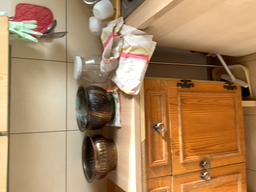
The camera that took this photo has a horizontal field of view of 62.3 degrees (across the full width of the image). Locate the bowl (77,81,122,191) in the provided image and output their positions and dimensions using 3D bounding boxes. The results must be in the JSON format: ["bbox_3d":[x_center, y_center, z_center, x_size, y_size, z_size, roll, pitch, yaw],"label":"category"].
[{"bbox_3d":[-0.140,0.170,0.990,0.250,0.130,0.450,-5,84,64],"label":"bowl"}]
